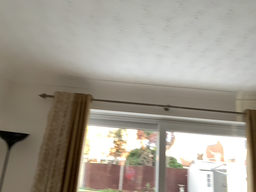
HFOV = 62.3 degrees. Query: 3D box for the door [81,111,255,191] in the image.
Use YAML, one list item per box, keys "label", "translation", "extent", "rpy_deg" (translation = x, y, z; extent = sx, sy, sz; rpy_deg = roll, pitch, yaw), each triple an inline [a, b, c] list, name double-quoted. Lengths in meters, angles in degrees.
- label: "door"
  translation: [0.480, 1.320, 2.140]
  extent: [1.950, 2.230, 0.090]
  rpy_deg: [5, -17, -3]
